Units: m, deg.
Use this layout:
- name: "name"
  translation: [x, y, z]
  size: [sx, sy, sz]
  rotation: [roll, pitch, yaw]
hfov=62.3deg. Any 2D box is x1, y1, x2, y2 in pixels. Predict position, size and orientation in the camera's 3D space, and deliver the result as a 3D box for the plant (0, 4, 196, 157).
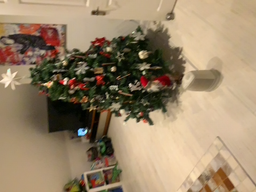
- name: "plant"
  translation: [-0.410, -0.230, 2.490]
  size: [1.110, 1.690, 1.110]
  rotation: [106, 149, -43]
